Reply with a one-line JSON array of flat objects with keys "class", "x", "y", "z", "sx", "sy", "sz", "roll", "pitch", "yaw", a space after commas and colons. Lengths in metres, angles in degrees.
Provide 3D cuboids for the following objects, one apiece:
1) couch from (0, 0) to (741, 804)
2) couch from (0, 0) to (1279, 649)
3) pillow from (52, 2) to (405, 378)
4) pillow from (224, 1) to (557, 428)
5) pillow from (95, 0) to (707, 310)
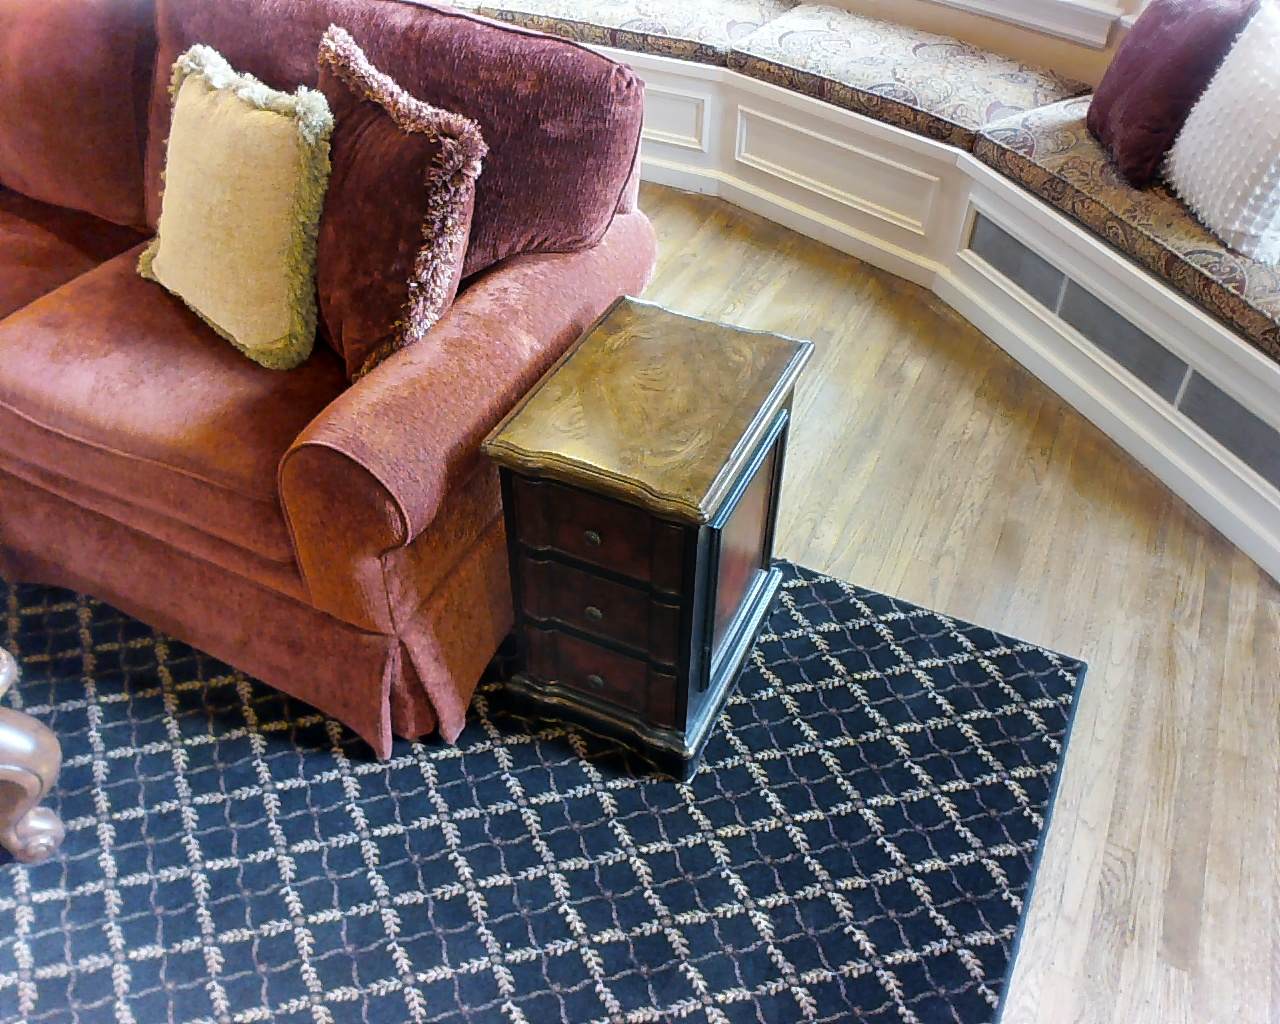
[{"class": "couch", "x": -1.030, "y": -0.540, "z": 2.200, "sx": 2.150, "sy": 1.050, "sz": 1.080, "roll": 19, "pitch": 45, "yaw": 19}, {"class": "couch", "x": -0.100, "y": -1.090, "z": 3.270, "sx": 5.030, "sy": 0.490, "sz": 1.960, "roll": 18, "pitch": 45, "yaw": 19}, {"class": "pillow", "x": -0.700, "y": -0.550, "z": 1.870, "sx": 0.180, "sy": 0.420, "sz": 0.520, "roll": -42, "pitch": 63, "yaw": -12}, {"class": "pillow", "x": -0.410, "y": -0.500, "z": 1.810, "sx": 0.210, "sy": 0.440, "sz": 0.560, "roll": -32, "pitch": 57, "yaw": -16}, {"class": "pillow", "x": -0.420, "y": -0.760, "z": 2.000, "sx": 1.010, "sy": 0.400, "sz": 0.350, "roll": 19, "pitch": 61, "yaw": 19}]
